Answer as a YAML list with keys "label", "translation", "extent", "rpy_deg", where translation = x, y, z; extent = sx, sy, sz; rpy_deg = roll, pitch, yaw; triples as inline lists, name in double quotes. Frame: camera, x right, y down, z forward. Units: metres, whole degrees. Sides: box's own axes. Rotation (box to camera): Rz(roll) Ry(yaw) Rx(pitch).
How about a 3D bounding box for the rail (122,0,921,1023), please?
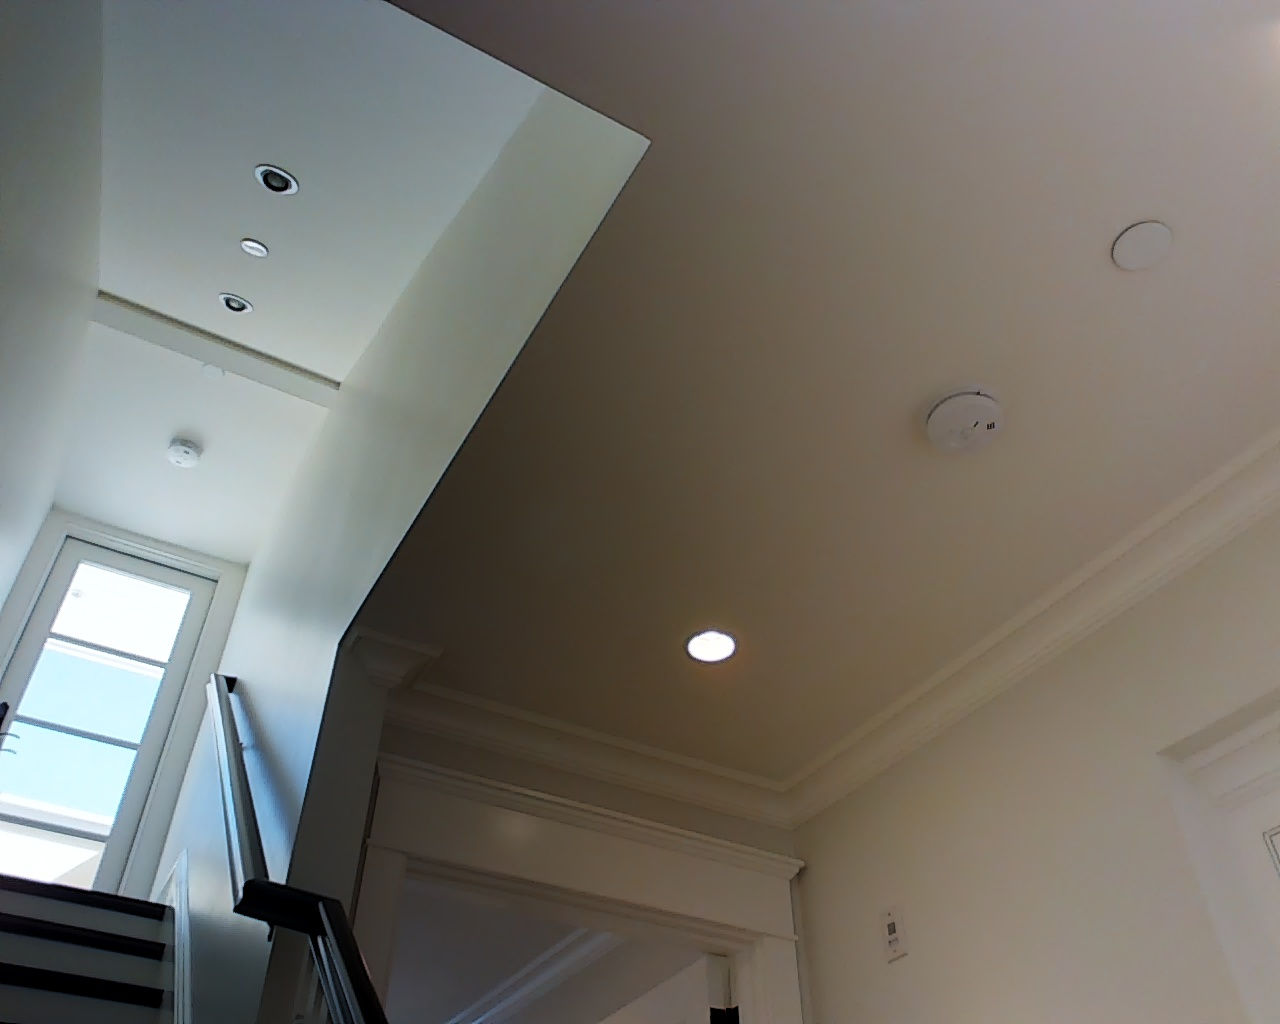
- label: "rail"
  translation: [-0.710, 1.061, 1.990]
  extent: [0.270, 3.591, 3.290]
  rpy_deg: [20, -46, -21]
